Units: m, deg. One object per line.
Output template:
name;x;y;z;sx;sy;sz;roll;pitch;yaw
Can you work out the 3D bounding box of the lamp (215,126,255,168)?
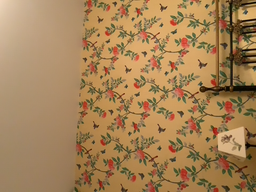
lamp;0.810;0.320;1.340;0.210;0.470;0.230;14;-103;-65
